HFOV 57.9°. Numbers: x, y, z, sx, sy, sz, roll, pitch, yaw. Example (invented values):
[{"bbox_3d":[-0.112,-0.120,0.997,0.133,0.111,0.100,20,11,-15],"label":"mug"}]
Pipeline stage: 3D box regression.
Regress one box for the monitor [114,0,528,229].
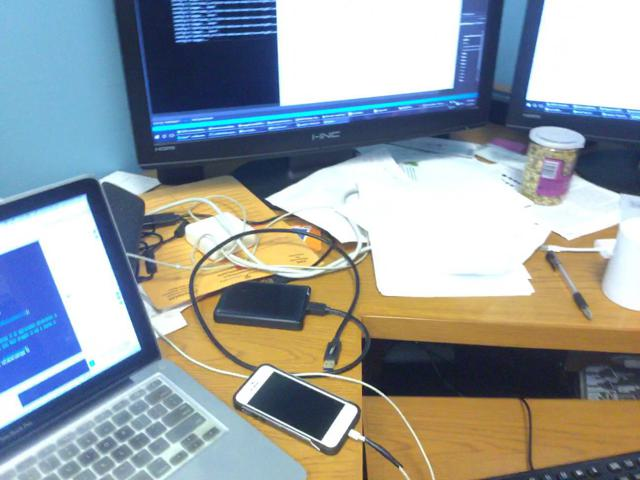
[{"bbox_3d":[0.020,-0.280,0.930,0.630,0.420,0.110,-10,31,-16],"label":"monitor"}]
